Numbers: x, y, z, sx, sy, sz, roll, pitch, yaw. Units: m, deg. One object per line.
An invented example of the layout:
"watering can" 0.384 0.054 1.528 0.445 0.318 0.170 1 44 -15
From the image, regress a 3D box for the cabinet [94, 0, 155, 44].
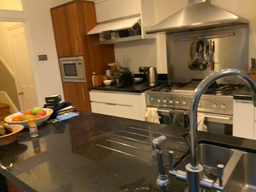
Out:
"cabinet" -0.060 -1.110 3.070 0.820 0.610 0.320 5 16 37
